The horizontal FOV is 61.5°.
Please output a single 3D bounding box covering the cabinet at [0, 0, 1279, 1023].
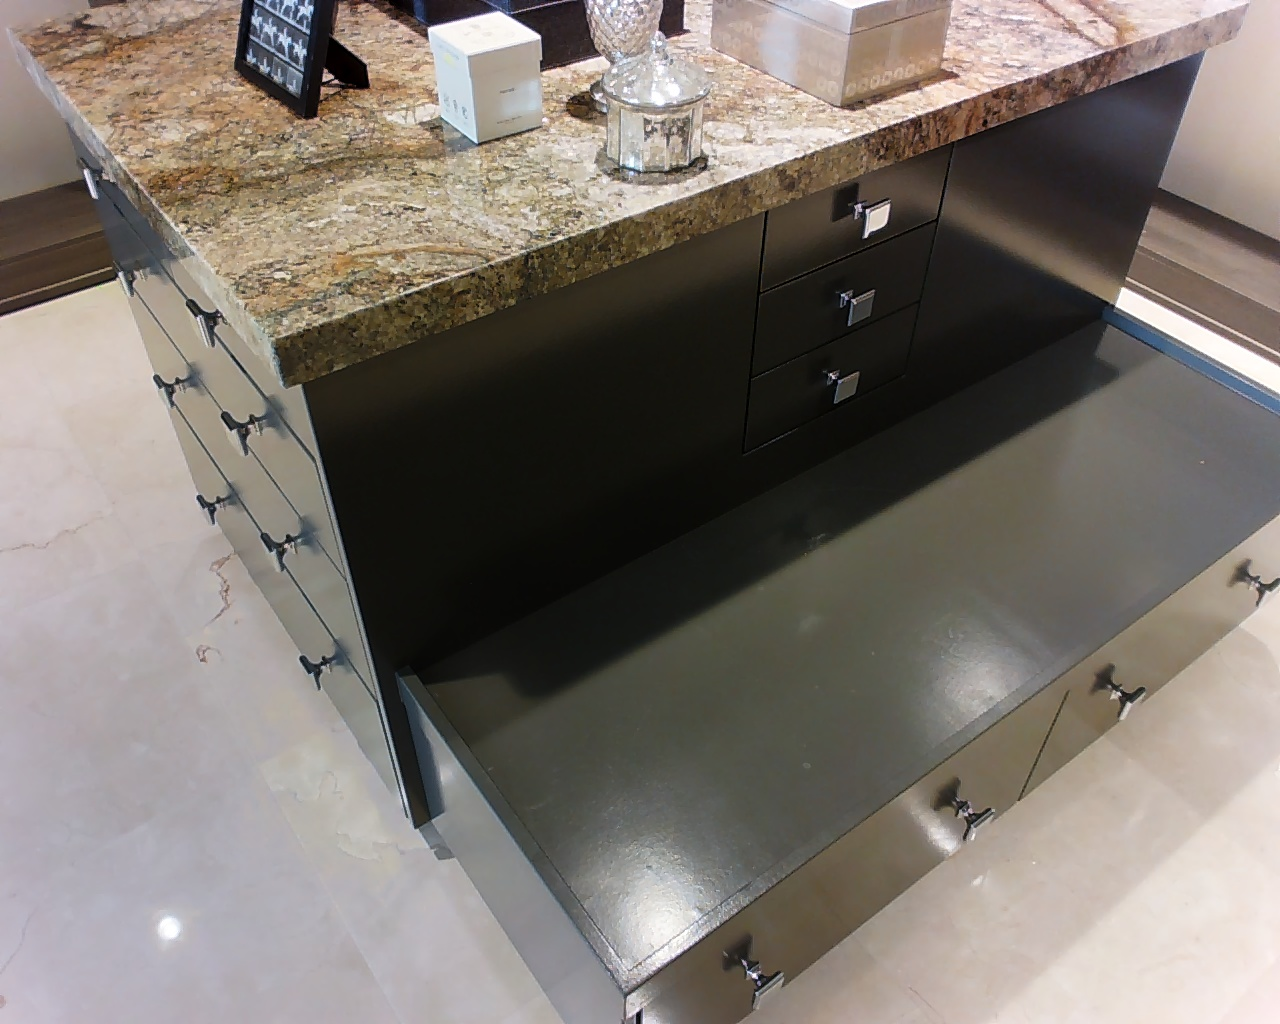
[{"bbox_3d":[0.140,-0.270,1.840,1.780,1.070,1.600,-26,49,-26],"label":"cabinet"}]
